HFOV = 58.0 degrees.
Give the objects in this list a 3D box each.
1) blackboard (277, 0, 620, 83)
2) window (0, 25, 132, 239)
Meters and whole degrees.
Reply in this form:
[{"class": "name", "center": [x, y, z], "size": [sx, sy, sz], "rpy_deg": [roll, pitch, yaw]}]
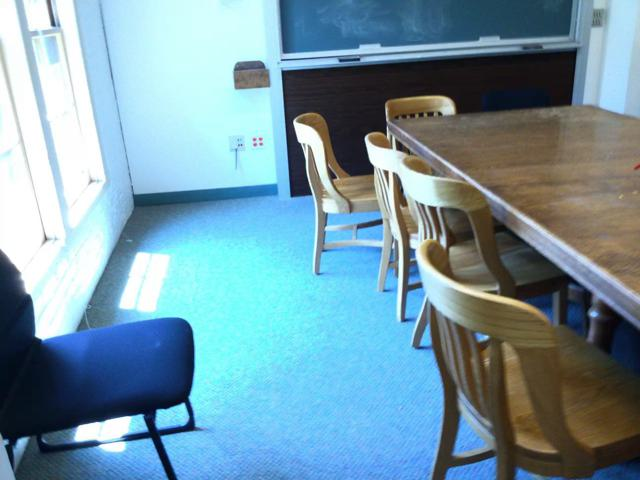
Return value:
[{"class": "blackboard", "center": [0.910, -1.590, 4.020], "size": [2.380, 0.710, 0.160], "rpy_deg": [-7, 22, -4]}, {"class": "window", "center": [-1.280, -0.620, 3.020], "size": [0.200, 0.900, 1.010], "rpy_deg": [-7, 22, -4]}]
